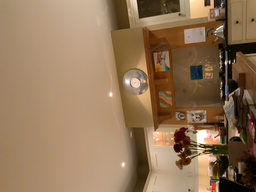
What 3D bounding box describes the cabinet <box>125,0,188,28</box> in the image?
[{"bbox_3d":[0.430,-1.680,3.300,0.350,0.930,1.070,-50,-45,-62],"label":"cabinet"}]
